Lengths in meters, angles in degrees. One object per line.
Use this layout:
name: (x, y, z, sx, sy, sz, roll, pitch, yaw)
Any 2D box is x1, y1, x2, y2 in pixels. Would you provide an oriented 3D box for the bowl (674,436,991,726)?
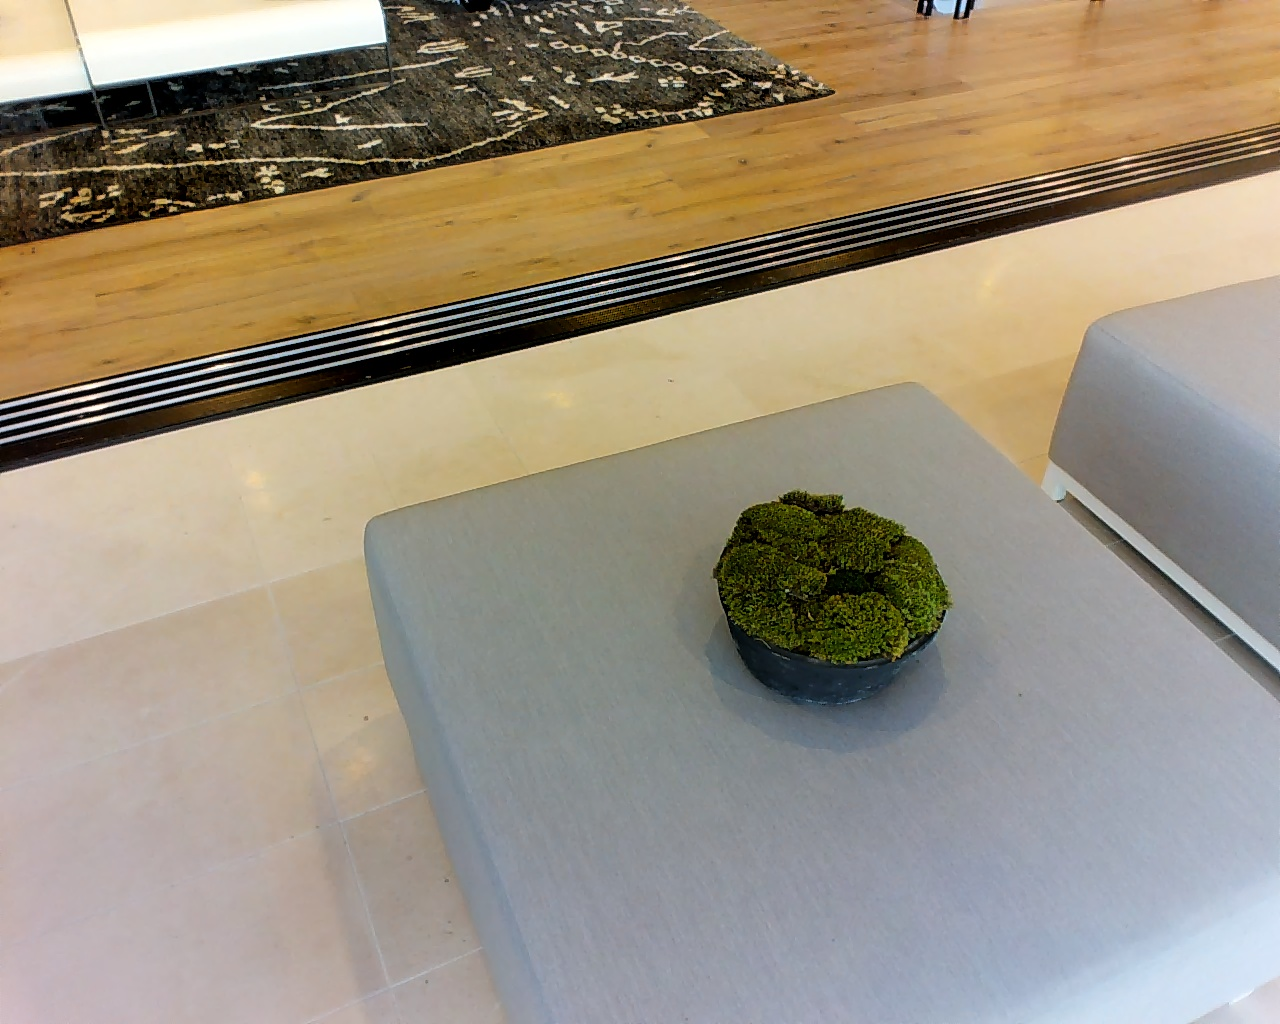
bowl: (0.240, 0.080, 1.440, 0.290, 0.160, 0.310, -13, 44, -15)
